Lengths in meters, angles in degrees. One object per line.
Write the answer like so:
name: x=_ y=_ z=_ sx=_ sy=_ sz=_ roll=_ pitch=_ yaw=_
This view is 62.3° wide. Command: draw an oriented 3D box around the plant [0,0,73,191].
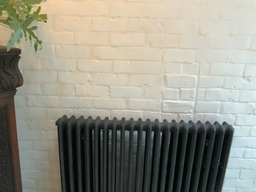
plant: x=-0.710 y=0.140 z=1.160 sx=0.620 sy=1.760 sz=0.610 roll=1 pitch=18 yaw=-4
